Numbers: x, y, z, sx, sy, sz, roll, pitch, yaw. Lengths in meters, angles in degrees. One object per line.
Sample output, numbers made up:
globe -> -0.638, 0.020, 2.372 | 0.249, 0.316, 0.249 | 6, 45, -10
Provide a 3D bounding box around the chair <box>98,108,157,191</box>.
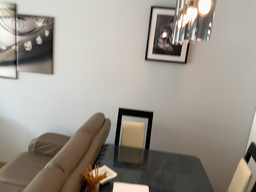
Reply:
chair -> -0.020, 0.690, 1.860 | 0.380, 1.040, 0.490 | 7, 13, 3
